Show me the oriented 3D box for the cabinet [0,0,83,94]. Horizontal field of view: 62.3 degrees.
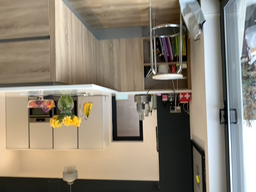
[{"bbox_3d":[-1.080,-0.500,1.970,1.130,0.930,0.630,-2,179,9],"label":"cabinet"}]
